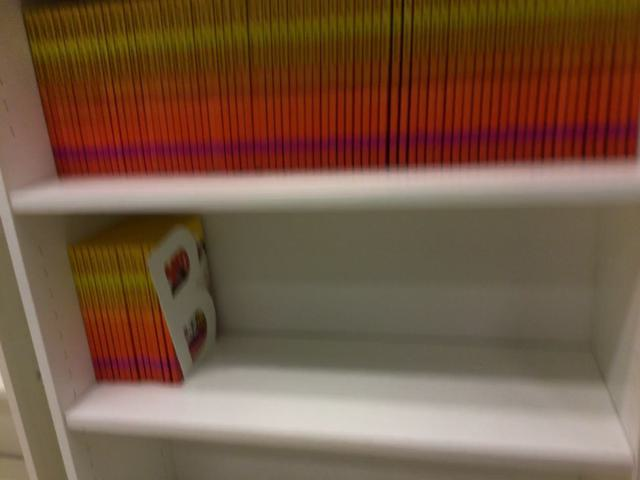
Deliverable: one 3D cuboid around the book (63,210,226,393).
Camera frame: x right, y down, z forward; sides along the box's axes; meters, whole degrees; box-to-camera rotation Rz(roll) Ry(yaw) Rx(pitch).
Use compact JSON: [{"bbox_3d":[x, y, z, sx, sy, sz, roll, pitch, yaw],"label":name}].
[{"bbox_3d":[-0.270,0.090,0.940,0.150,0.230,0.190,1,21,12],"label":"book"}]
